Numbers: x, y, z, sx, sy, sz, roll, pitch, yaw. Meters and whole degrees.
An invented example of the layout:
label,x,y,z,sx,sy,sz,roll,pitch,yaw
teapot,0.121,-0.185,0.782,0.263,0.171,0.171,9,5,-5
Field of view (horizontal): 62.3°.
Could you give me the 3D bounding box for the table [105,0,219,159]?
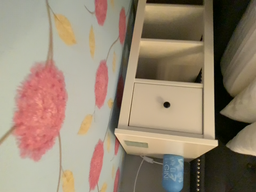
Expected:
label,x,y,z,sx,sy,sz,roll,pitch,yaw
table,0.180,-0.140,1.070,0.370,0.790,0.500,5,158,8
